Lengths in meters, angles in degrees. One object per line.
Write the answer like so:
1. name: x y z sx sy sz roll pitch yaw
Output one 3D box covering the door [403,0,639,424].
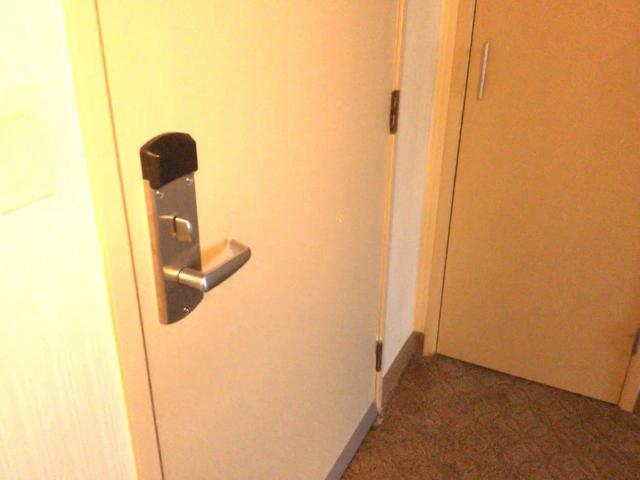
1. door: 0.690 -0.600 1.440 0.830 2.390 0.170 11 29 22
